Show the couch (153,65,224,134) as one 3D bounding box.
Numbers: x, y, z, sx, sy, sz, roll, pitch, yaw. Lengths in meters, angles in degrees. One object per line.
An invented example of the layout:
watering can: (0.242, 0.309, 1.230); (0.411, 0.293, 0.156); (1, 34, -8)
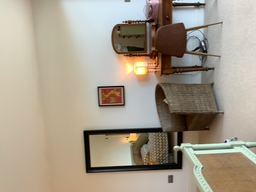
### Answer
couch: (0.800, 0.070, 3.110); (0.760, 0.720, 0.700); (92, 176, -60)
